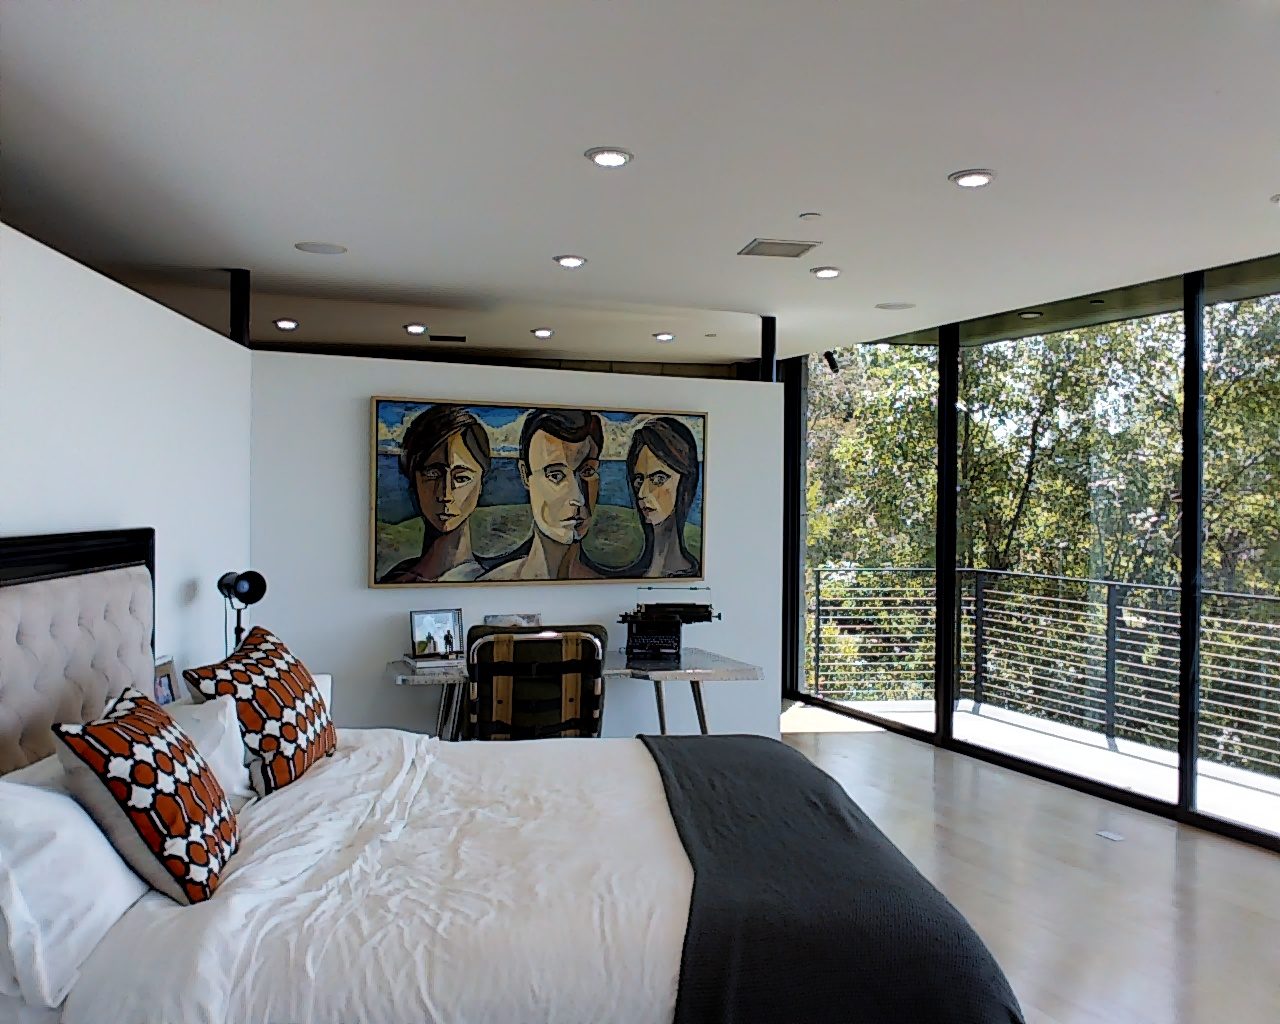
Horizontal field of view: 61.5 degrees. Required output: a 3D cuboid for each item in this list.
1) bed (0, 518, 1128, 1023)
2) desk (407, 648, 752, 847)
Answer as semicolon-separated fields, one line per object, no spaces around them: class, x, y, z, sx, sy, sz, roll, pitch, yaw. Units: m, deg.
bed;-0.480;0.790;2.780;2.420;1.470;2.080;1;1;-6
desk;-0.330;1.130;5.480;1.500;0.690;0.960;1;1;-24
